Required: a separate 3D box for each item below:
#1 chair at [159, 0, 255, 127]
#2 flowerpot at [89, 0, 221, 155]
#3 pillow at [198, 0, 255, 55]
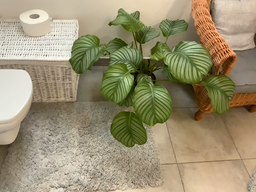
[{"bbox_3d":[0.740,-0.340,1.510,0.710,0.870,0.670,-5,50,-12],"label":"chair"},{"bbox_3d":[0.060,-0.180,1.500,0.630,0.550,0.980,-1,49,-8],"label":"flowerpot"},{"bbox_3d":[0.730,-0.490,1.490,0.390,0.370,0.120,-14,66,6],"label":"pillow"}]
